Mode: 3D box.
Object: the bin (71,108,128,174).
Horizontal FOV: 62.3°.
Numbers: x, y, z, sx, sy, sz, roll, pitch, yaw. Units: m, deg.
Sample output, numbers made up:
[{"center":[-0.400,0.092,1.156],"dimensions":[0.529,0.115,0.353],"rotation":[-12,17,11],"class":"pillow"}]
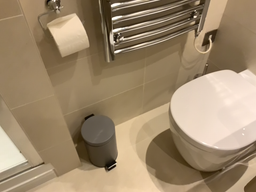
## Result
[{"center":[-0.140,0.240,1.120],"dimensions":[0.230,0.240,0.160],"rotation":[-24,52,-20],"class":"bin"}]
